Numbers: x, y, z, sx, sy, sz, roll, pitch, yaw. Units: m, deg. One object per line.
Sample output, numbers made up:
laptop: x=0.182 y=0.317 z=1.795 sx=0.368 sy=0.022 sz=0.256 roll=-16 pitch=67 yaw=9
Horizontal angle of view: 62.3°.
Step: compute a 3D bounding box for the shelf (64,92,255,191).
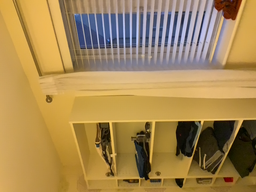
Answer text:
shelf: x=0.550 y=0.460 z=1.960 sx=0.290 sy=2.010 sz=1.020 roll=-93 pitch=2 yaw=-49
